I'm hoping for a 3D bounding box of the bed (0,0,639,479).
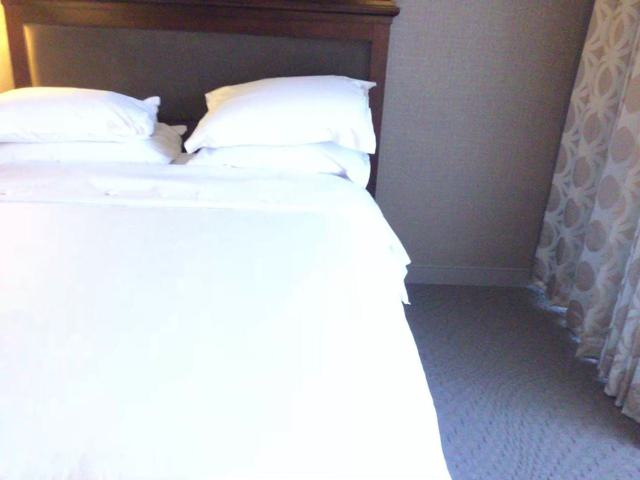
[{"bbox_3d":[-0.530,-0.050,1.640,1.890,1.400,2.240,4,21,-4],"label":"bed"}]
